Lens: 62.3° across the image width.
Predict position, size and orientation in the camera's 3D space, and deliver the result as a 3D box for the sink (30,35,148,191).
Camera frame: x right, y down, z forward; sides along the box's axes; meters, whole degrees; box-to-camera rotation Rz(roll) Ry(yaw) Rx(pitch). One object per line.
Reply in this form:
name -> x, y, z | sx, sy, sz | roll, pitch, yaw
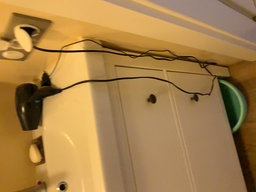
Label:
sink -> -0.150, 0.300, 0.700 | 0.480, 0.130, 0.830 | -22, 74, 47
